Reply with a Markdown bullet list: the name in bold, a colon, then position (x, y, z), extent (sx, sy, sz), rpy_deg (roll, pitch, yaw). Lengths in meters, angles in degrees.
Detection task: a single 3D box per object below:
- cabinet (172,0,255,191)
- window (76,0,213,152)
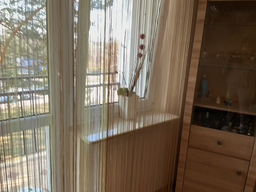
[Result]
- **cabinet**: position (0.870, 0.040, 1.880), extent (0.650, 2.030, 0.440), rpy_deg (10, 15, 25)
- **window**: position (0.180, -0.560, 1.440), extent (1.050, 1.660, 0.210), rpy_deg (-7, 17, -39)
